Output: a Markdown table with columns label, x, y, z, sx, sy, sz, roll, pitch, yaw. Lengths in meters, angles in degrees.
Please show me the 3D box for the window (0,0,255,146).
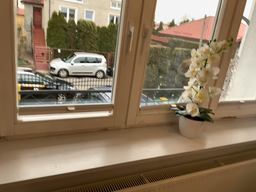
| label | x | y | z | sx | sy | sz | roll | pitch | yaw |
| --- | --- | --- | --- | --- | --- | --- | --- | --- | --- |
| window | 0.060 | -0.490 | 1.190 | 2.690 | 1.450 | 0.290 | 0 | 20 | -24 |
